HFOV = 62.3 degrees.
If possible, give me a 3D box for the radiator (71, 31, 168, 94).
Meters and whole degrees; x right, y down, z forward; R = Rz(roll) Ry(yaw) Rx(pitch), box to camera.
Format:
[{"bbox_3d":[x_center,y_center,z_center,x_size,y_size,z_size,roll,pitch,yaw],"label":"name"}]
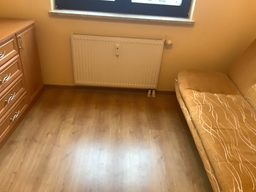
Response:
[{"bbox_3d":[-0.110,-0.380,2.480,1.020,0.630,0.220,4,32,-2],"label":"radiator"}]
